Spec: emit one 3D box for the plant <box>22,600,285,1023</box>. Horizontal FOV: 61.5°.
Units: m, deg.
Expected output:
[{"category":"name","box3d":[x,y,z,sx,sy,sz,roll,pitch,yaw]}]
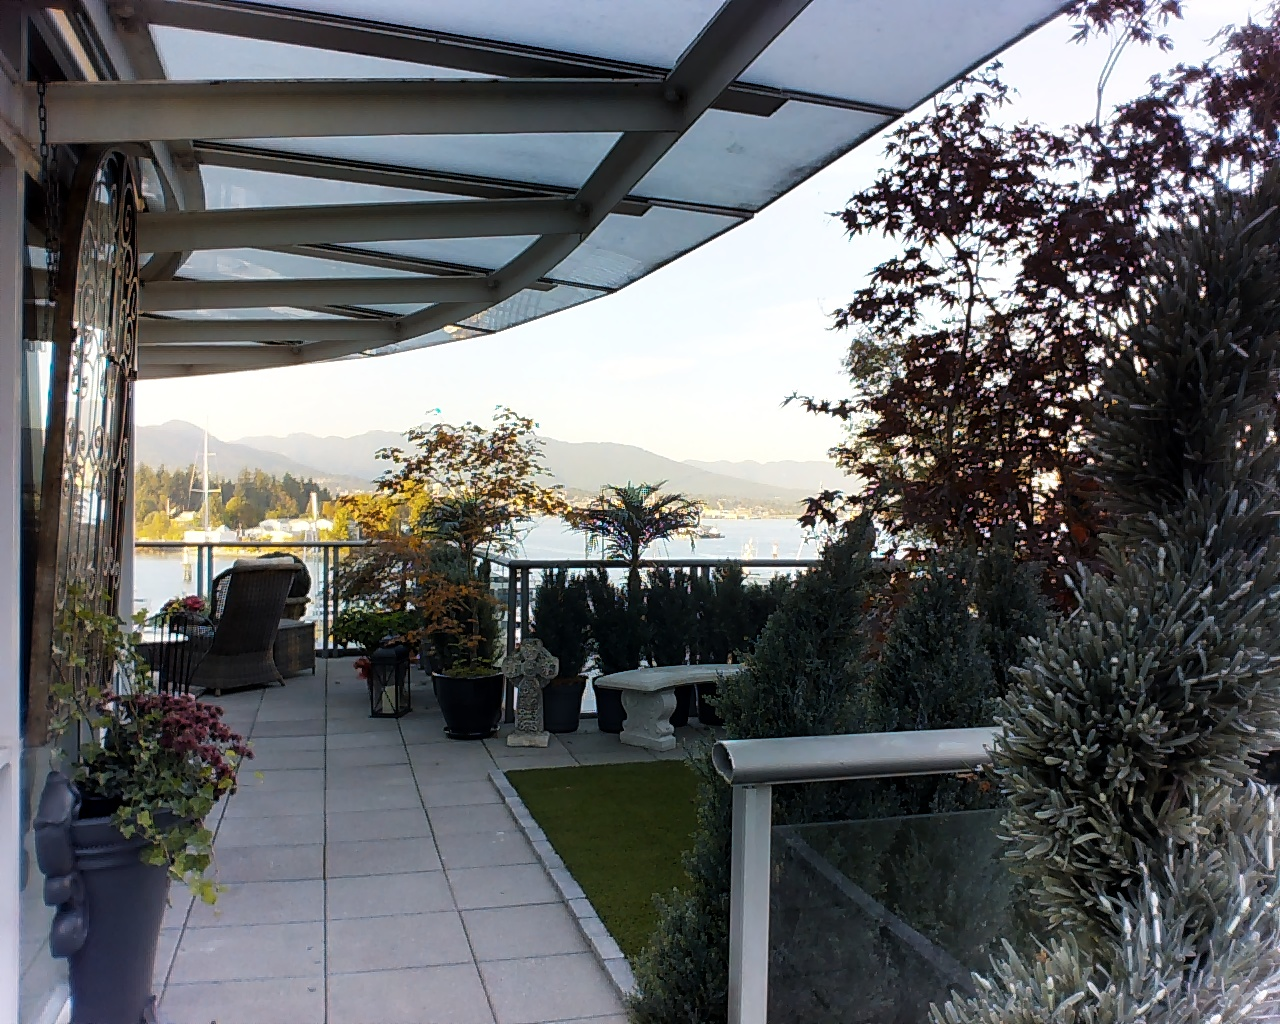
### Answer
[{"category":"plant","box3d":[-1.180,0.830,2.720,0.470,1.150,0.770,1,0,-14]}]
